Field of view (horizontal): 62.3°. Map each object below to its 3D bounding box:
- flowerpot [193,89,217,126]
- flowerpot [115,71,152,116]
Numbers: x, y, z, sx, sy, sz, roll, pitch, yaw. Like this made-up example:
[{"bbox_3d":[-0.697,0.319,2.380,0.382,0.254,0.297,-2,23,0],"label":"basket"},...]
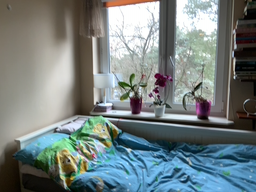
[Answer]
[{"bbox_3d":[0.790,0.110,2.190,0.200,0.330,0.240,3,9,18],"label":"flowerpot"},{"bbox_3d":[0.070,-0.050,2.570,0.360,0.500,0.330,3,9,19],"label":"flowerpot"}]
